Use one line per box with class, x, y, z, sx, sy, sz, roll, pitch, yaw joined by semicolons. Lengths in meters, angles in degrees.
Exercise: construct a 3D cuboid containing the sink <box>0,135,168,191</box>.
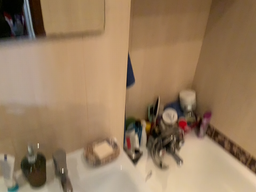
sink;-0.160;0.380;0.720;0.520;0.140;0.370;-15;37;-28
